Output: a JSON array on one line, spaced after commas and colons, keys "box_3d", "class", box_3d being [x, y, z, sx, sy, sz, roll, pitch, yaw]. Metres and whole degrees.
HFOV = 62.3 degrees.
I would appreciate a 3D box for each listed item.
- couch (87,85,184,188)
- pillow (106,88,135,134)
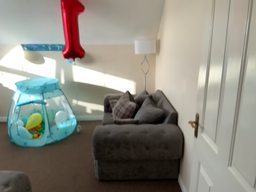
[{"box_3d": [0.060, 0.390, 2.930, 0.930, 0.740, 1.660, 0, 15, -1], "class": "couch"}, {"box_3d": [-0.110, 0.190, 2.940, 0.220, 0.440, 0.480, -13, 27, -20], "class": "pillow"}]
